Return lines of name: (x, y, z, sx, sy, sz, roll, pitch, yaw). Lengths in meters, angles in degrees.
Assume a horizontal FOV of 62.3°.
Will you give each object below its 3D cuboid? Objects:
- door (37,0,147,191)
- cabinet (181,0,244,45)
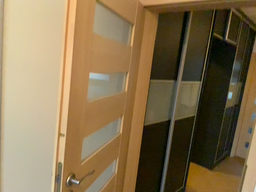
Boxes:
door: (-0.190, 0.420, 1.270, 0.110, 2.070, 0.870, 10, 10, 17)
cabinet: (1.200, -1.020, 2.950, 0.460, 0.460, 0.940, 15, 13, 39)
